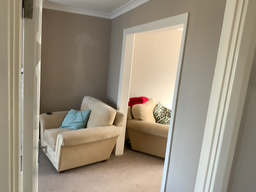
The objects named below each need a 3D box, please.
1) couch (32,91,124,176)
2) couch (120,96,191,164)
[{"bbox_3d":[-0.860,0.470,3.410,1.000,0.860,1.180,-2,14,-37],"label":"couch"},{"bbox_3d":[0.560,0.550,4.010,0.990,0.790,1.110,11,12,20],"label":"couch"}]
